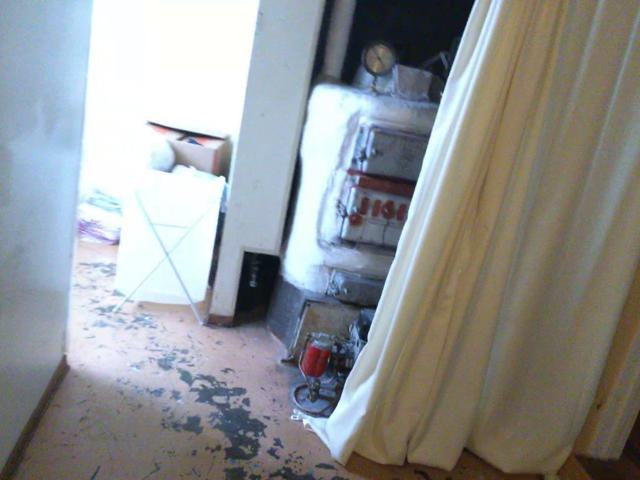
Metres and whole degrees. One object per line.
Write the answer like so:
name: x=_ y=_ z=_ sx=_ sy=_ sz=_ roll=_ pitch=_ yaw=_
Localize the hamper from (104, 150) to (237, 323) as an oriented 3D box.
hamper: x=-0.690 y=-0.030 z=2.750 sx=0.480 sy=0.640 sz=0.480 roll=9 pitch=17 yaw=-9
